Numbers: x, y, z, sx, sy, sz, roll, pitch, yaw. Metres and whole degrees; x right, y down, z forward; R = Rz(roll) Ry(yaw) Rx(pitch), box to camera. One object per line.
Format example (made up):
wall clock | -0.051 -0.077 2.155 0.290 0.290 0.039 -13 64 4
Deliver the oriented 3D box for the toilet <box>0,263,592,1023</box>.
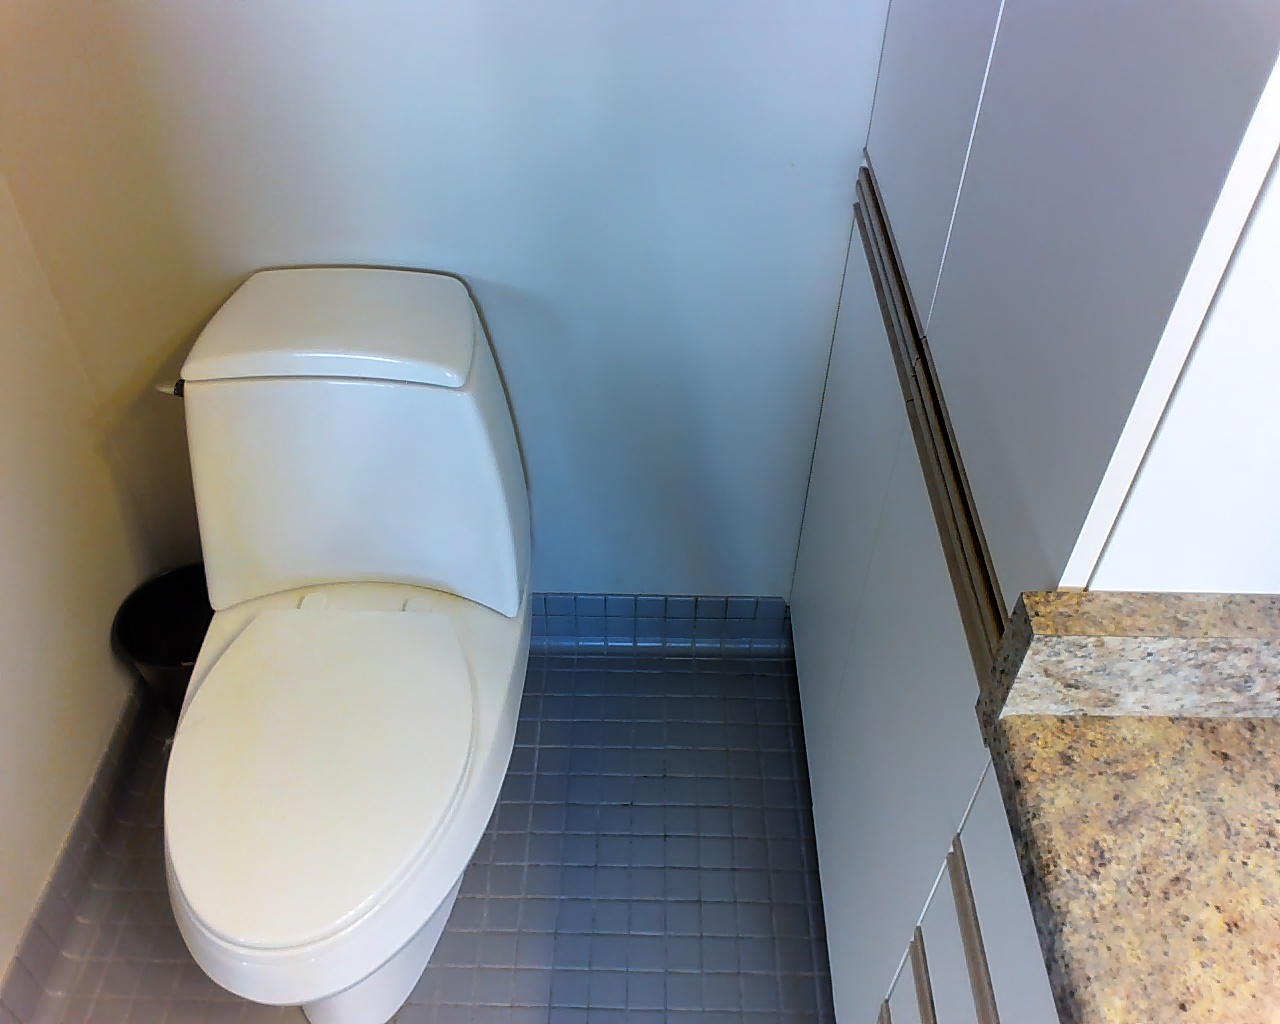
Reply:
toilet | -0.350 0.210 1.340 0.530 0.730 0.750 1 44 0
